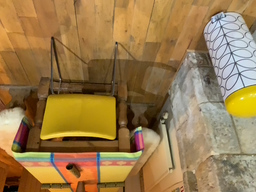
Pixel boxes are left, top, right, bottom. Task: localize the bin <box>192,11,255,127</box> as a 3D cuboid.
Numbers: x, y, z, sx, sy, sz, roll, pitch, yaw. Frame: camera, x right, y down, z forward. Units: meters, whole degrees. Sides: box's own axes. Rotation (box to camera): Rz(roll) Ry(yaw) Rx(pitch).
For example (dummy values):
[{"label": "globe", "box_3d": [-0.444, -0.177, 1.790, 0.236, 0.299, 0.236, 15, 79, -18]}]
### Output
[{"label": "bin", "box_3d": [0.720, -0.190, 1.430, 0.330, 0.710, 0.340, 2, 148, -5]}]
